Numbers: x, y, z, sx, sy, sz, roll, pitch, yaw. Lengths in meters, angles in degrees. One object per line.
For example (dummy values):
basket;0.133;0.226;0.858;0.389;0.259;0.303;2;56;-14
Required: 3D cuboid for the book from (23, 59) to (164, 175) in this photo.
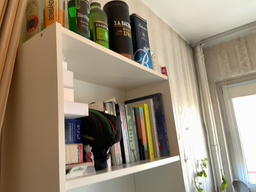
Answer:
book;-0.080;0.100;0.770;0.210;0.280;0.500;-12;-15;30
